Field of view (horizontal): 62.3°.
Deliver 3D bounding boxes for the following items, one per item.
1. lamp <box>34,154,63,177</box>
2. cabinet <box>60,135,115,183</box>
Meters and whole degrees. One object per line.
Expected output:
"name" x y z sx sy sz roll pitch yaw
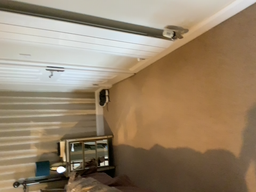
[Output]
"lamp" -1.030 0.890 2.740 0.240 0.320 0.210 -19 73 61
"cabinet" -0.570 0.840 2.940 0.420 0.640 0.520 -22 70 60
